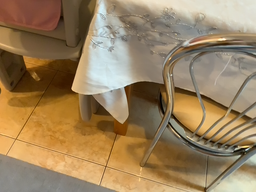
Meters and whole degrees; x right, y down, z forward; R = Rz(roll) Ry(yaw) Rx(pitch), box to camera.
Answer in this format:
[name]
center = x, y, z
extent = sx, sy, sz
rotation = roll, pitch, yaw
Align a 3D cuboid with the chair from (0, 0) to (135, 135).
[chair]
center = -0.330, -0.430, 0.840
extent = 0.600, 0.990, 0.690
rotation = 15, 57, 5
